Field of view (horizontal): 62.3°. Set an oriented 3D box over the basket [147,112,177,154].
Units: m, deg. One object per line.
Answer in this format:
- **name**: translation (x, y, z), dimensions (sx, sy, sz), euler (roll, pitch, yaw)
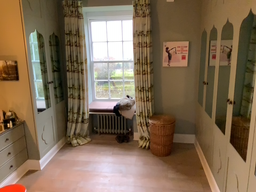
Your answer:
- **basket**: translation (0.540, 0.580, 3.380), dimensions (0.440, 0.550, 0.360), euler (0, 13, 9)
